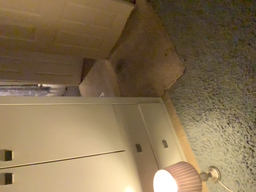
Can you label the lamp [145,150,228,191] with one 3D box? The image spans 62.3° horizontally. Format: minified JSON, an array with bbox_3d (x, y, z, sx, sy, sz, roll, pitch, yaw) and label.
[{"bbox_3d":[0.380,0.530,1.410,0.300,0.400,0.190,-49,50,46],"label":"lamp"}]
